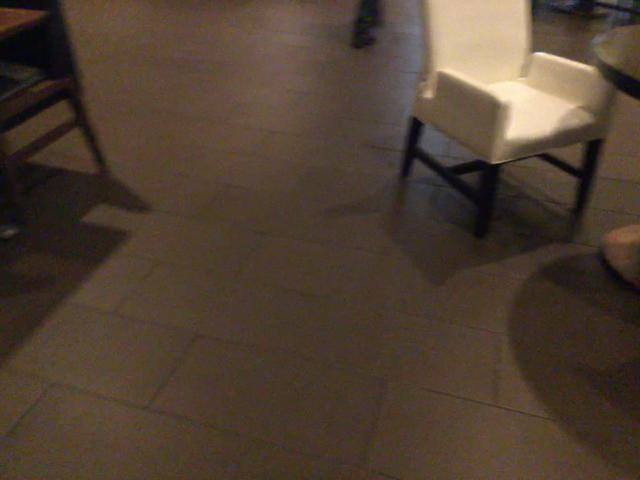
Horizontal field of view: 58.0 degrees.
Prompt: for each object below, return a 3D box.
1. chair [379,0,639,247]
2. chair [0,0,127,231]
[{"bbox_3d":[0.740,-0.580,2.290,0.670,0.890,0.670,-13,34,-25],"label":"chair"},{"bbox_3d":[-1.130,-0.580,2.210,0.450,0.900,0.520,8,31,9],"label":"chair"}]
